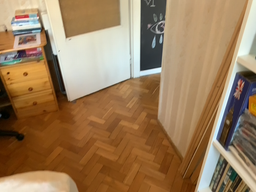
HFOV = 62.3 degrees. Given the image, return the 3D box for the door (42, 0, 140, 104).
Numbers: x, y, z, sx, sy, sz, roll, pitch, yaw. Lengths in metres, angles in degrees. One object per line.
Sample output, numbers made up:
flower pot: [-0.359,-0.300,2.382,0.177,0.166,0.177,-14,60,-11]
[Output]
door: [-0.300,-0.930,1.960,0.950,2.050,0.110,-23,41,-27]
